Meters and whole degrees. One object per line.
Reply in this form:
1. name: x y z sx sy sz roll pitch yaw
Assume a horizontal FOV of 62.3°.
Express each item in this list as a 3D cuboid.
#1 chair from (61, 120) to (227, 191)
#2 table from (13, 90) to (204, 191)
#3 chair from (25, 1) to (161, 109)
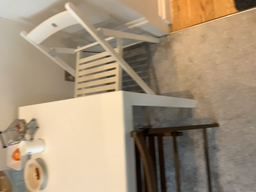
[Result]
1. chair: 0.130 0.380 1.080 0.490 0.730 0.440 -11 81 36
2. table: -0.090 0.410 1.230 0.780 0.760 0.750 -7 83 37
3. chair: -0.180 -0.160 1.350 0.440 0.740 0.450 -7 83 37
